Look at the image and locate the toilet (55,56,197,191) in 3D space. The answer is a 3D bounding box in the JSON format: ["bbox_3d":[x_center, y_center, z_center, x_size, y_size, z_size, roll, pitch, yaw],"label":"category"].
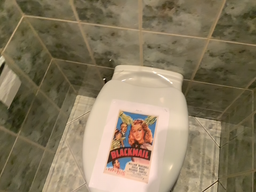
[{"bbox_3d":[0.030,0.200,0.910,0.360,0.460,0.510,11,67,9],"label":"toilet"}]
